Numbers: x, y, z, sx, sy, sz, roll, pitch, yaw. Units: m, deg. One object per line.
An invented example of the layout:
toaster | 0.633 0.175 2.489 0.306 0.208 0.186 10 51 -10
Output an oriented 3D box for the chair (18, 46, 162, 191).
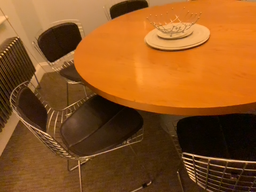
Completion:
chair | -0.160 0.210 1.220 0.490 0.760 0.450 -30 41 -24

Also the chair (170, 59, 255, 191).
chair | 0.450 0.310 0.950 0.410 0.740 0.520 -7 37 5

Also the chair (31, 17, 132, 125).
chair | -0.370 -0.230 1.870 0.590 0.760 0.380 18 45 33

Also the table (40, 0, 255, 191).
table | 0.410 -0.110 1.510 1.410 0.750 1.410 -8 37 3
